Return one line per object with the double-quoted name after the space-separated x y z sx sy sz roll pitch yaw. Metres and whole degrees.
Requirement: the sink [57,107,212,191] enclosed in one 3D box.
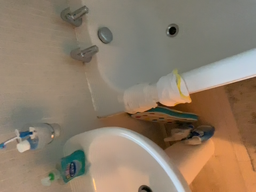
0.040 0.370 0.730 0.440 0.210 0.560 -16 87 35 "sink"
